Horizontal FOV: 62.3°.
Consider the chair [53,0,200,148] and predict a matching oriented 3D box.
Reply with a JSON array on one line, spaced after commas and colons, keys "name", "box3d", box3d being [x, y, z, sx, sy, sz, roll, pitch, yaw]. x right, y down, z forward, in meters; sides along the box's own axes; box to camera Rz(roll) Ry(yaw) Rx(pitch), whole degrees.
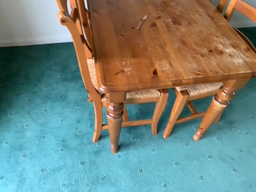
[{"name": "chair", "box3d": [-0.060, -0.150, 1.230, 0.520, 0.950, 0.430, -7, 51, -10]}]

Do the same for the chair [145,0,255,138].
[{"name": "chair", "box3d": [0.490, -0.220, 1.340, 0.540, 0.930, 0.470, -10, 52, -12]}]
